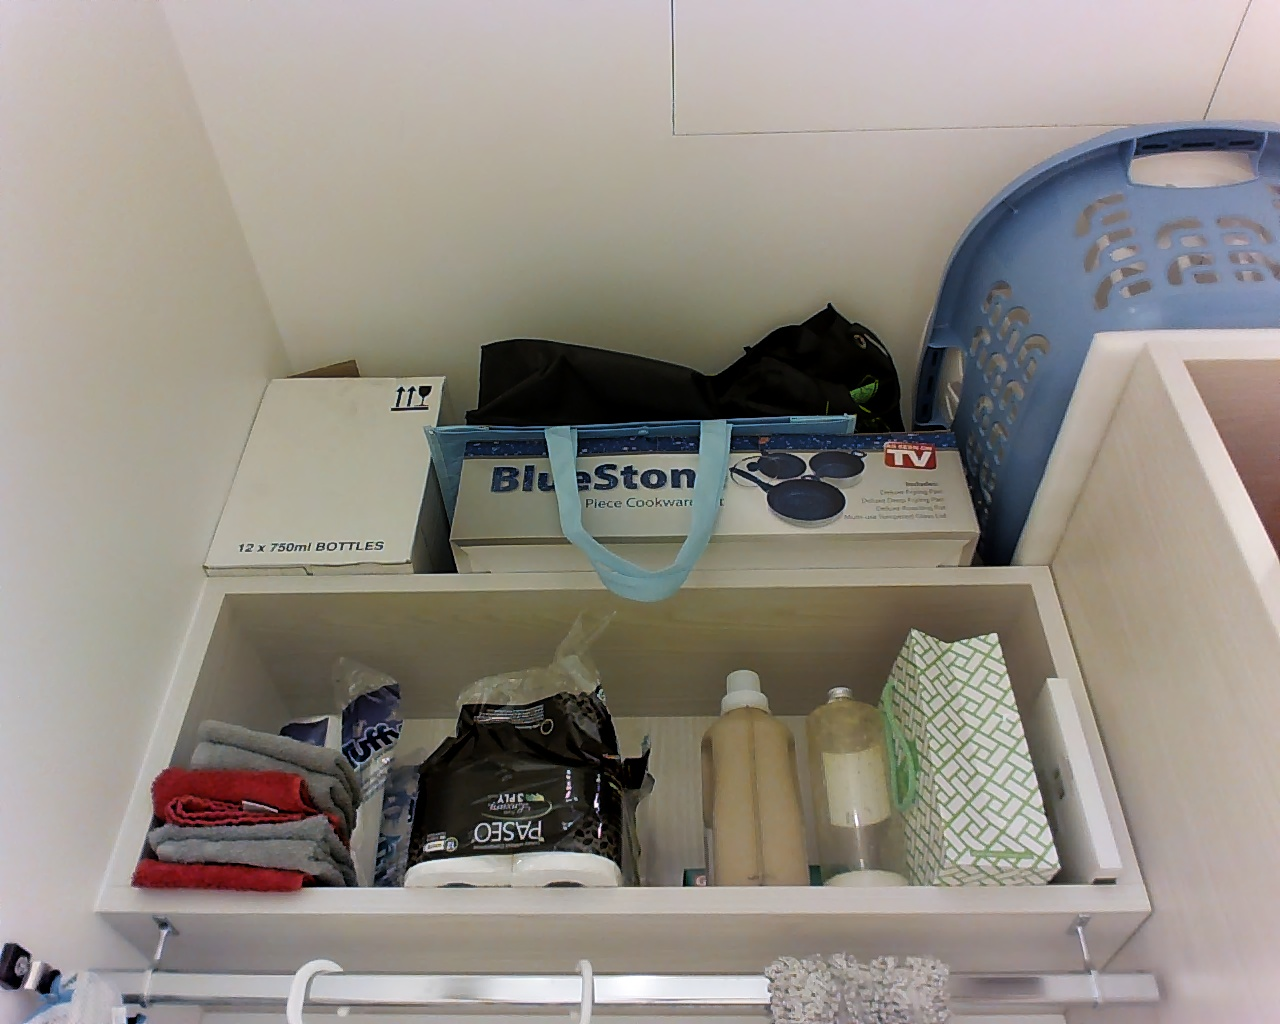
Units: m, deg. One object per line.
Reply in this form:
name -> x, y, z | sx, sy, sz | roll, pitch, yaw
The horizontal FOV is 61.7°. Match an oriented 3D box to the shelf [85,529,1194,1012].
shelf -> 0.000, 0.290, 1.190 | 0.960, 0.390, 0.360 | -1, -41, 3
